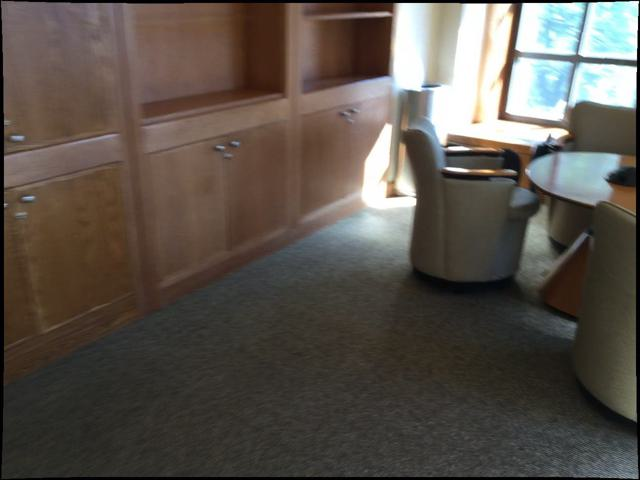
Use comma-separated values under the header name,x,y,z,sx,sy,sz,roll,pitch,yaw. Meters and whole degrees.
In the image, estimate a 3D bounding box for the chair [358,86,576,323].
name,x,y,z,sx,sy,sz,roll,pitch,yaw
chair,0.748,-0.241,2.970,0.769,0.822,0.830,17,32,25

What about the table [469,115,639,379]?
name,x,y,z,sx,sy,sz,roll,pitch,yaw
table,1.367,-0.020,2.650,0.919,0.741,0.919,22,34,32

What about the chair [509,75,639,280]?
name,x,y,z,sx,sy,sz,roll,pitch,yaw
chair,1.626,-0.381,3.200,0.779,0.801,0.770,19,33,28

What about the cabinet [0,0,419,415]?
name,x,y,z,sx,sy,sz,roll,pitch,yaw
cabinet,-0.609,-0.591,2.920,0.579,1.573,3.208,22,34,32
